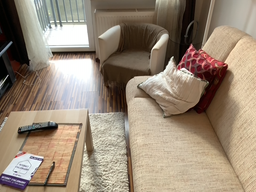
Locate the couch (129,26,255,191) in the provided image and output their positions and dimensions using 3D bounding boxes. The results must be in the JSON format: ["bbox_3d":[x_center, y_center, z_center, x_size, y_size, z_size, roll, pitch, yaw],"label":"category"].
[{"bbox_3d":[0.500,0.360,1.280,0.870,0.910,1.820,-1,38,-3],"label":"couch"}]

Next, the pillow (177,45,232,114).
[{"bbox_3d":[0.570,-0.140,1.630,0.210,0.440,0.320,-18,11,5],"label":"pillow"}]

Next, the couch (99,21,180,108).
[{"bbox_3d":[0.140,-0.400,2.470,0.650,0.640,0.670,18,41,20],"label":"couch"}]
